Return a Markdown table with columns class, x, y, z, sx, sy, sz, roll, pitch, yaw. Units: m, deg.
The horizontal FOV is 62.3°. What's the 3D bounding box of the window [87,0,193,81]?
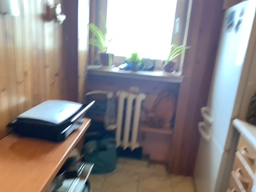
| class | x | y | z | sx | sy | sz | roll | pitch | yaw |
| --- | --- | --- | --- | --- | --- | --- | --- | --- | --- |
| window | 0.110 | -0.850 | 1.890 | 0.900 | 1.340 | 0.120 | 6 | 16 | 6 |
